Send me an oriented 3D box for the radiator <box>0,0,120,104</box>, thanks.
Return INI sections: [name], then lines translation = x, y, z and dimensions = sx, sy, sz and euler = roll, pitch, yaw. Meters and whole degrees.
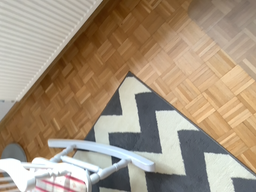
[radiator]
translation = -0.490, -0.530, 1.250
dimensions = 1.530, 0.740, 0.180
euler = -45, 68, 19
